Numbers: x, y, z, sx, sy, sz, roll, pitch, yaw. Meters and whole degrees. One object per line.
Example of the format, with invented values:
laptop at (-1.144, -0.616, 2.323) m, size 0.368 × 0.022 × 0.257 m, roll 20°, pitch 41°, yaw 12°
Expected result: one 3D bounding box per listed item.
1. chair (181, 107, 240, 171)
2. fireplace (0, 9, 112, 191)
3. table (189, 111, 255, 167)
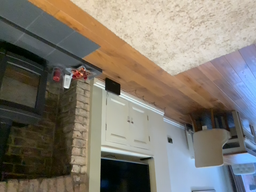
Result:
chair at (1.440, 0.790, 3.770) m, size 0.630 × 0.940 × 0.610 m, roll -22°, pitch 148°, yaw 36°
fireplace at (-0.970, 0.230, 1.730) m, size 0.660 × 1.500 × 1.750 m, roll -21°, pitch 149°, yaw 34°
table at (2.110, 0.990, 4.480) m, size 0.900 × 0.760 × 1.620 m, roll -20°, pitch 149°, yaw 33°
